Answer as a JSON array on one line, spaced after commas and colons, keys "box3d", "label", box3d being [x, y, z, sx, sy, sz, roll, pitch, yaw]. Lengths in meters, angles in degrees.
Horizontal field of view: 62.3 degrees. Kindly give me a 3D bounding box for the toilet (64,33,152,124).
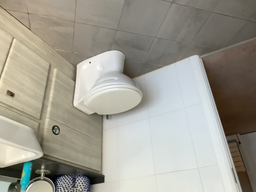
[{"box3d": [-0.150, -0.110, 1.710, 0.520, 0.450, 0.410, -18, 146, 22], "label": "toilet"}]
